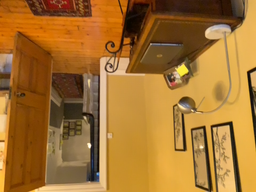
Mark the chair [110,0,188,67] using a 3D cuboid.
[{"bbox_3d":[0.130,-0.710,1.800,0.530,0.790,0.480,0,170,-9],"label":"chair"}]
